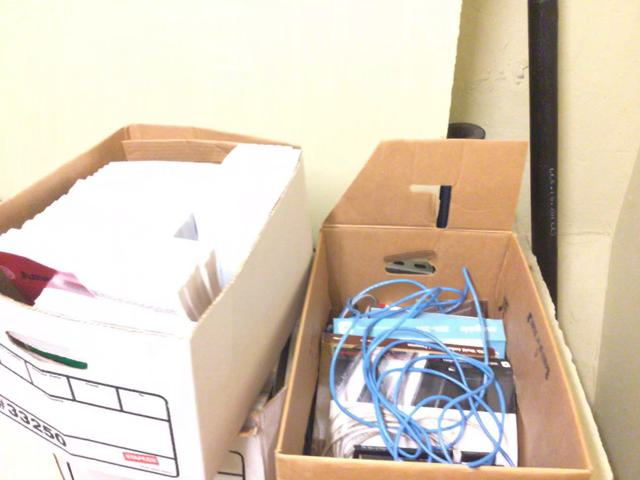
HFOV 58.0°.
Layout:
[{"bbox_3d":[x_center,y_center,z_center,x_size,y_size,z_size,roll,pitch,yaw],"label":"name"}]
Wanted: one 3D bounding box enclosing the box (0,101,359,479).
[{"bbox_3d":[-0.200,0.050,0.760,0.380,0.290,0.470,10,34,17],"label":"box"}]
